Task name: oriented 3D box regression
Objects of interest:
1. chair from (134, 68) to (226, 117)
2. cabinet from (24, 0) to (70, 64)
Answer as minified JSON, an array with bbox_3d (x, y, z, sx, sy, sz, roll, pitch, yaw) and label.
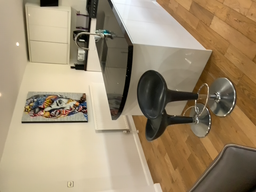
[{"bbox_3d":[0.480,-0.010,2.030,0.340,0.750,0.360,136,133,-65],"label":"chair"},{"bbox_3d":[-2.000,-1.540,5.320,0.330,0.990,1.420,-110,28,-50],"label":"cabinet"}]
